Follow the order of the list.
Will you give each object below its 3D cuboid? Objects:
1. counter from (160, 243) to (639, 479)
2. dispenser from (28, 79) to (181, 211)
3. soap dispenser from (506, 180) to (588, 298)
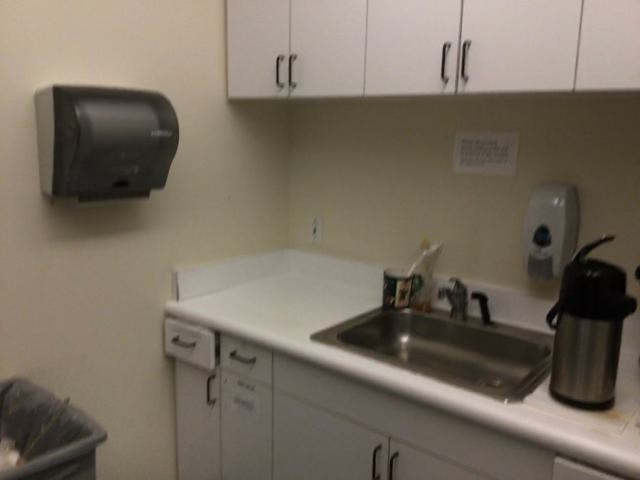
[{"bbox_3d":[0.370,0.270,1.620,1.820,0.240,0.640,8,12,39],"label":"counter"},{"bbox_3d":[-0.590,-0.260,1.610,0.220,0.320,0.320,8,12,39],"label":"dispenser"},{"bbox_3d":[0.660,-0.010,1.690,0.180,0.320,0.100,8,12,39],"label":"soap dispenser"}]
